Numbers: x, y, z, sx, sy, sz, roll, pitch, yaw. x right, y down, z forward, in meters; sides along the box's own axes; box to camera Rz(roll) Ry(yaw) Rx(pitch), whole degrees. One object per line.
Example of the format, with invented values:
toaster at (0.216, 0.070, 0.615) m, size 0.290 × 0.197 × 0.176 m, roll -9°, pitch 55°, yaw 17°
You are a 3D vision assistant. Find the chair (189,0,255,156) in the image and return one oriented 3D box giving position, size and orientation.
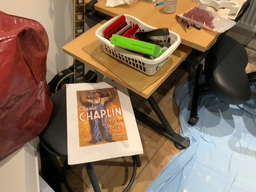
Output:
chair at (0.720, -0.190, 1.040) m, size 0.650 × 0.760 × 0.690 m, roll 9°, pitch 51°, yaw 10°

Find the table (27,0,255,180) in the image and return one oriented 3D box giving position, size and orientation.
table at (0.270, -0.330, 1.220) m, size 0.610 × 0.680 × 1.260 m, roll 31°, pitch 57°, yaw 25°

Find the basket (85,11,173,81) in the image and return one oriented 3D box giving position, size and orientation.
basket at (0.000, -0.150, 0.610) m, size 0.220 × 0.080 × 0.110 m, roll 31°, pitch 57°, yaw 25°
